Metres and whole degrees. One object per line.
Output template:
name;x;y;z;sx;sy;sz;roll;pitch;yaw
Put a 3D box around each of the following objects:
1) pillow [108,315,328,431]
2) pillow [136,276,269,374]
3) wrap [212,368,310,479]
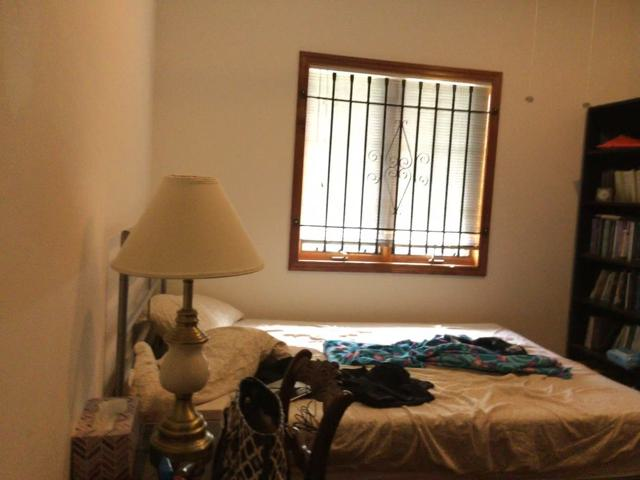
pillow;-0.370;0.450;2.130;0.660;0.180;0.740;1;5;-11
pillow;-0.570;0.380;2.850;0.540;0.270;0.900;1;5;-11
wrap;-0.130;0.440;1.140;0.160;0.280;0.320;1;5;-11
